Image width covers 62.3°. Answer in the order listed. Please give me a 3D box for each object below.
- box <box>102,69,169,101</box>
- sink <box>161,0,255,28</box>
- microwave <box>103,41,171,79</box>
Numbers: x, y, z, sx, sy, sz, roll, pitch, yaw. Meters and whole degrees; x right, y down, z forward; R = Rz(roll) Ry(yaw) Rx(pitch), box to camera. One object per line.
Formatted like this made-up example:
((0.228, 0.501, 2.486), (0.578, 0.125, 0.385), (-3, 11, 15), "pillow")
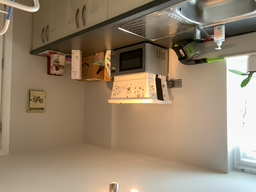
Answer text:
((0.070, -0.090, 2.290), (0.600, 0.290, 0.410), (-1, 178, 43), "box")
((0.560, -0.640, 1.330), (0.520, 0.190, 0.480), (-1, 178, 44), "sink")
((0.090, -0.360, 2.310), (0.600, 0.270, 0.440), (-1, 178, 44), "microwave")
